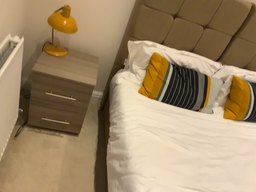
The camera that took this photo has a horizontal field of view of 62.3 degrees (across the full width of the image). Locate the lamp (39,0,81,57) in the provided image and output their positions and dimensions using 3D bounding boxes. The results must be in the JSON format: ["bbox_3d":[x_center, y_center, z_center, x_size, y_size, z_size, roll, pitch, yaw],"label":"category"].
[{"bbox_3d":[-0.460,-0.470,1.440,0.200,0.300,0.210,13,35,-16],"label":"lamp"}]

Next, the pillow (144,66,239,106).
[{"bbox_3d":[0.430,-0.060,1.540,0.590,0.330,0.130,0,62,10],"label":"pillow"}]
